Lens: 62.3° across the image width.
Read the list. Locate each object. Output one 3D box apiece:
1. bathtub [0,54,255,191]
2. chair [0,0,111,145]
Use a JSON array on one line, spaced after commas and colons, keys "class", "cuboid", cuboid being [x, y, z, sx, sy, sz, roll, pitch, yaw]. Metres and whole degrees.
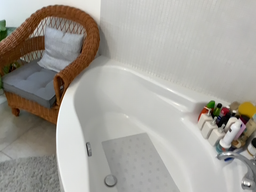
[{"class": "bathtub", "cuboid": [0.020, 0.450, 1.360, 1.350, 0.550, 1.370, 24, 41, 17]}, {"class": "chair", "cuboid": [-0.650, -0.230, 1.800, 0.730, 0.870, 0.660, 18, 39, 11]}]
